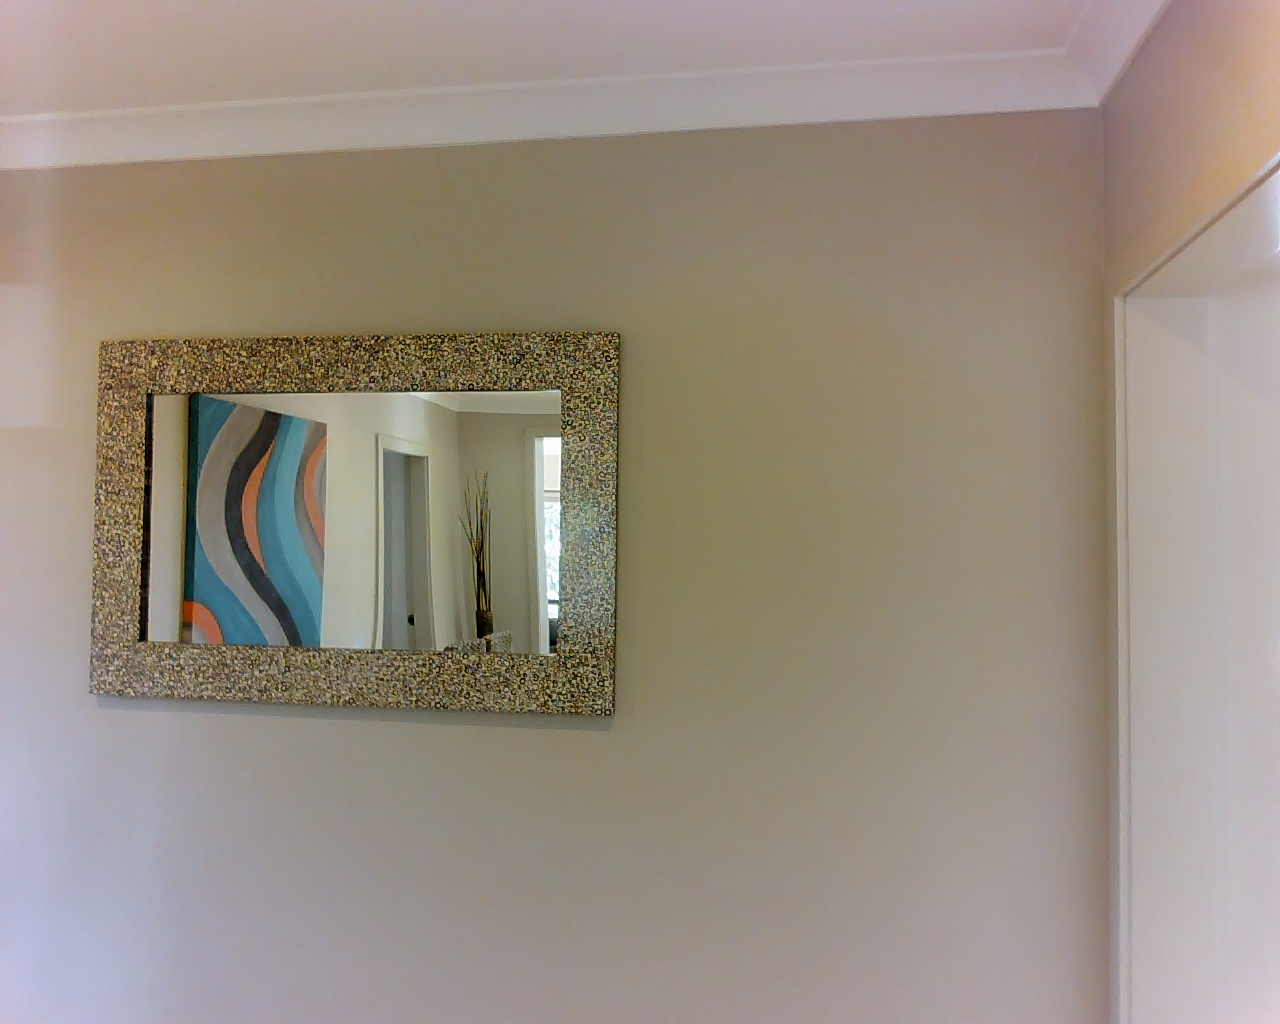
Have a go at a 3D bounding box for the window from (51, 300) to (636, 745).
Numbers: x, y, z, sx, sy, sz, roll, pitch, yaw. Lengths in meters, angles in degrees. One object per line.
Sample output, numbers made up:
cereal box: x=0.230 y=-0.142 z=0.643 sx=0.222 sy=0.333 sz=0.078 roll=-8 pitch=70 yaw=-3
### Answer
window: x=-0.640 y=0.020 z=2.300 sx=1.250 sy=0.890 sz=0.140 roll=0 pitch=-2 yaw=9
